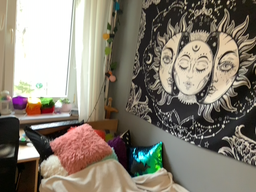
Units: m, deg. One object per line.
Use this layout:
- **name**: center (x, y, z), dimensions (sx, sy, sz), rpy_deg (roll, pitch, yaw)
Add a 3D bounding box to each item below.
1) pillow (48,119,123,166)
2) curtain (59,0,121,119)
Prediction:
- **pillow**: center (-0.380, 0.370, 1.840), dimensions (0.440, 0.160, 0.490), rpy_deg (-1, 13, -41)
- **curtain**: center (-0.380, -0.580, 2.120), dimensions (0.370, 1.550, 0.370), rpy_deg (-1, 13, -40)
